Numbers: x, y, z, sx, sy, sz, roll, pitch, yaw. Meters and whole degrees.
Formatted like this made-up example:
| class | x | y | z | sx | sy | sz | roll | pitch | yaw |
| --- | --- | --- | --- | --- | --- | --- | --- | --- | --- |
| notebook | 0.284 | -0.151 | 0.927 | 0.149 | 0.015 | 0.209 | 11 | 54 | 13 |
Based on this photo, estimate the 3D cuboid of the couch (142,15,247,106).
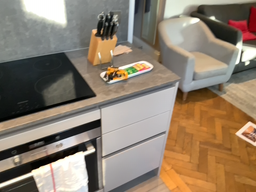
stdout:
| class | x | y | z | sx | sy | sz | roll | pitch | yaw |
| --- | --- | --- | --- | --- | --- | --- | --- | --- | --- |
| couch | 0.740 | -0.490 | 2.640 | 0.750 | 0.720 | 0.830 | -16 | 40 | -25 |

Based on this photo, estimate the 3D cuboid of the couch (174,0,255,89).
| class | x | y | z | sx | sy | sz | roll | pitch | yaw |
| --- | --- | --- | --- | --- | --- | --- | --- | --- | --- |
| couch | 1.940 | -0.950 | 3.320 | 2.150 | 0.790 | 1.000 | -16 | 40 | -25 |
